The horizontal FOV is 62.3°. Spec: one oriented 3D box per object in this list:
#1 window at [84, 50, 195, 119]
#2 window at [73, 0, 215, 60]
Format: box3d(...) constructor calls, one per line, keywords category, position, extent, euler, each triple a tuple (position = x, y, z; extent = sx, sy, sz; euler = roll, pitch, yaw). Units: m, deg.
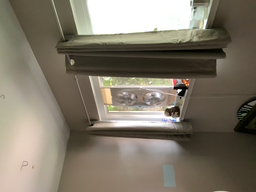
box3d(category="window", position=(0.110, -0.070, 2.250), extent=(0.920, 0.970, 0.140), euler=(87, -176, -51))
box3d(category="window", position=(0.100, -0.550, 1.420), extent=(0.710, 0.870, 0.090), euler=(87, -176, -49))
